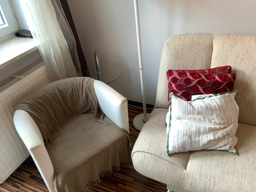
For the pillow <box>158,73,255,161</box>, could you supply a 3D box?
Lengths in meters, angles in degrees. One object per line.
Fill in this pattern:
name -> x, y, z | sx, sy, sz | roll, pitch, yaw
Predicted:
pillow -> 0.490, 0.140, 1.330 | 0.500, 0.390, 0.240 | 14, 40, -1
